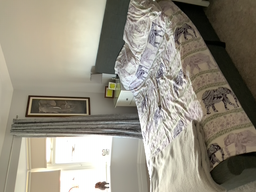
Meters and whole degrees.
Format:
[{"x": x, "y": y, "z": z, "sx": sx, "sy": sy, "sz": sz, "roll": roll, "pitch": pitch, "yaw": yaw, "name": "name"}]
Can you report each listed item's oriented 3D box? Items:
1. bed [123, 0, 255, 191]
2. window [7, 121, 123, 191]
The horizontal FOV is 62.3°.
[{"x": 0.510, "y": 0.060, "z": 2.500, "sx": 1.590, "sy": 0.500, "sz": 2.220, "roll": 114, "pitch": 152, "yaw": -50, "name": "bed"}, {"x": -0.930, "y": 1.560, "z": 3.270, "sx": 0.860, "sy": 1.540, "sz": 2.180, "roll": 114, "pitch": 153, "yaw": -50, "name": "window"}]
